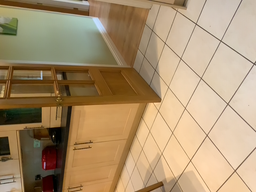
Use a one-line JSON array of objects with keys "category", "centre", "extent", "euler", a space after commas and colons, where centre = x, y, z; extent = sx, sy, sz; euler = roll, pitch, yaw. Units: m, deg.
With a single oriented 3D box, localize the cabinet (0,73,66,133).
[{"category": "cabinet", "centre": [-1.320, 0.080, 2.190], "extent": [0.290, 1.240, 0.560], "euler": [-118, 36, -45]}]
